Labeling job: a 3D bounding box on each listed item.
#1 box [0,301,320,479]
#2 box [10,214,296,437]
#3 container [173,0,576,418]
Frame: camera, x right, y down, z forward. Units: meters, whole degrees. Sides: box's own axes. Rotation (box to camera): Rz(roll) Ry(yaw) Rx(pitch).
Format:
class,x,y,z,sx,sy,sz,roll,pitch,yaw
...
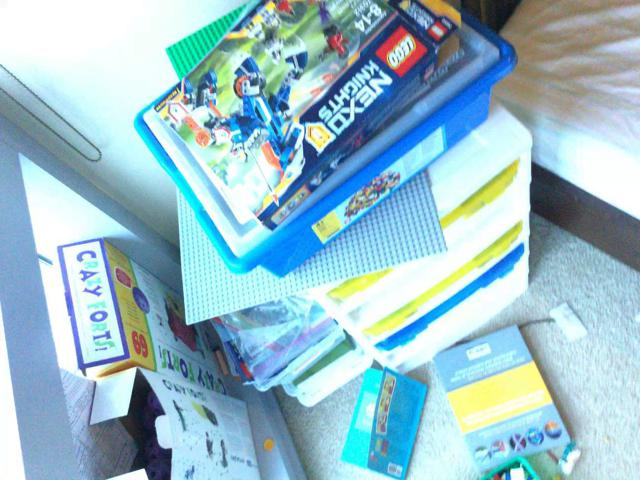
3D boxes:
class,x,y,z,sx,sy,sz,roll,pitch,yaw
box,-0.290,0.370,0.990,0.330,0.550,0.240,38,86,31
box,-0.300,0.190,1.140,0.310,0.460,0.180,38,86,31
container,0.150,-0.010,1.100,0.460,0.590,0.410,-43,58,1
